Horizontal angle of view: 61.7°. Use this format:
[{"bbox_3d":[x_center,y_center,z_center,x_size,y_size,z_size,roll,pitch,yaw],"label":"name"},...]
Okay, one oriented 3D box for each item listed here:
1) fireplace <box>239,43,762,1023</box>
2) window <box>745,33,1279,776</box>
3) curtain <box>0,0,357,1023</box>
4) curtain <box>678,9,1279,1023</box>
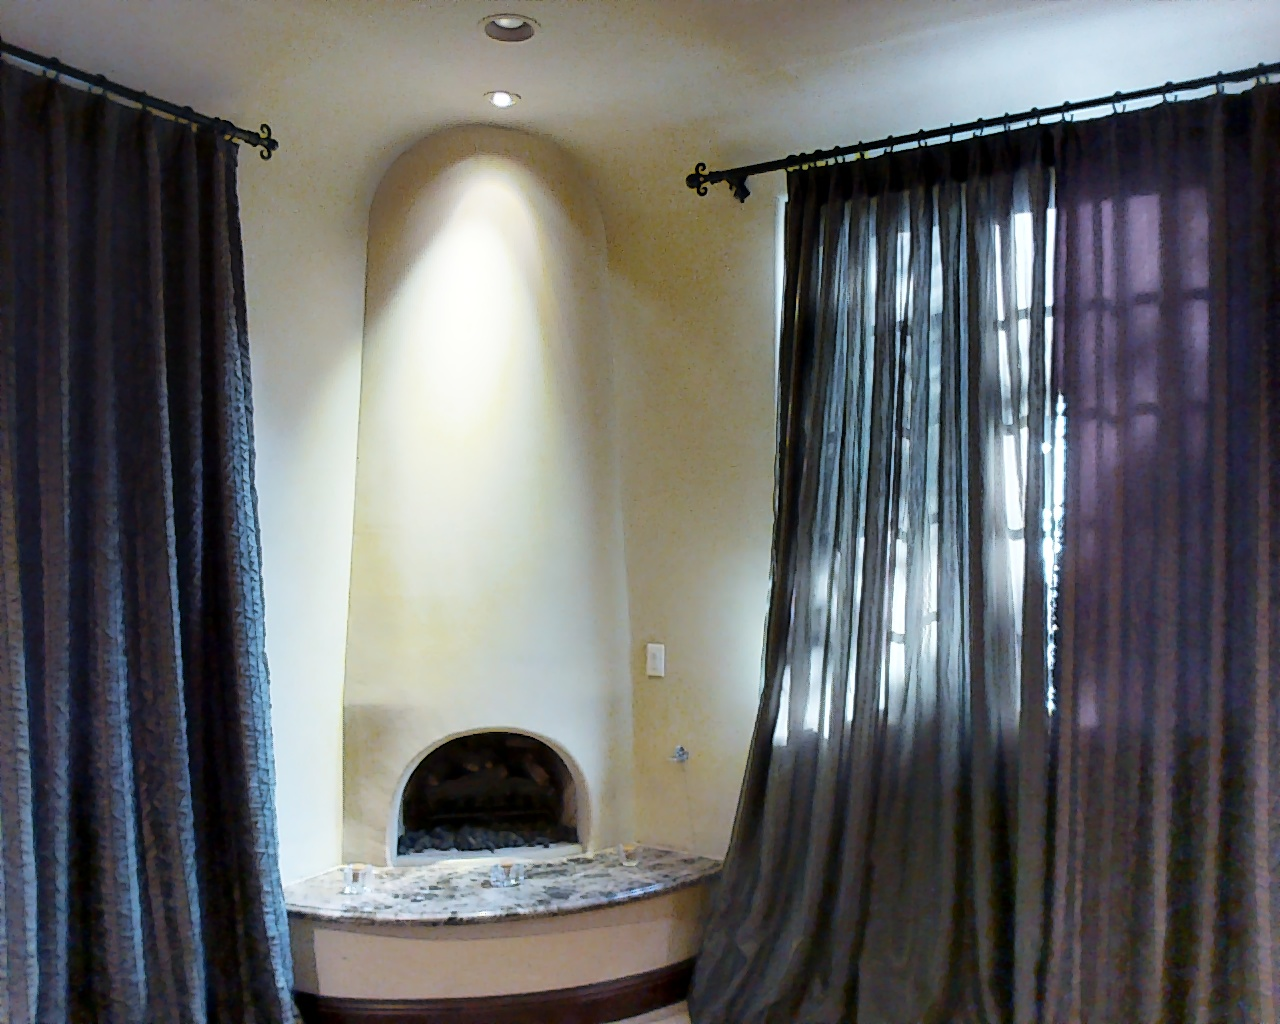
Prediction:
[{"bbox_3d":[-0.490,0.120,3.740,1.590,2.950,0.950,0,-1,-13],"label":"fireplace"},{"bbox_3d":[1.170,-0.270,3.140,1.810,1.880,0.230,0,-1,33],"label":"window"},{"bbox_3d":[-1.640,0.180,2.380,0.400,2.800,2.290,0,-1,32],"label":"curtain"},{"bbox_3d":[1.080,0.220,3.010,1.930,2.740,0.540,0,-1,32],"label":"curtain"}]
